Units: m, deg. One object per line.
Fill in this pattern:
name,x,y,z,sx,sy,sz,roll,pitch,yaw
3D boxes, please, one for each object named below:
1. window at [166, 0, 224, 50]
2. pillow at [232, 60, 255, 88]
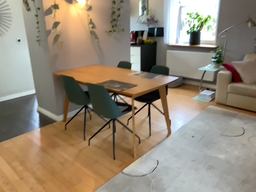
window,1.450,-1.870,4.720,1.240,1.540,0.150,16,26,39
pillow,2.160,-0.400,3.740,0.390,0.370,0.460,18,27,42
